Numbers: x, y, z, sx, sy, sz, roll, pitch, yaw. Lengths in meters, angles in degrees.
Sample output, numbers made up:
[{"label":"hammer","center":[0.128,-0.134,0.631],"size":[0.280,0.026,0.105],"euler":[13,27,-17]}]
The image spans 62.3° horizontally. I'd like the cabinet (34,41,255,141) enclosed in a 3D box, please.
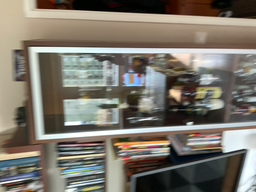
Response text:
[{"label":"cabinet","center":[0.540,-0.080,1.270],"size":[0.340,1.960,0.440],"euler":[-130,40,-71]}]
